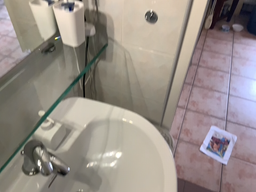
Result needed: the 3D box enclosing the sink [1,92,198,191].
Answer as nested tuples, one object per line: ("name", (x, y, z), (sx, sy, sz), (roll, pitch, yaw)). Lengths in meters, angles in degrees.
("sink", (-0.090, 0.320, 0.670), (0.480, 0.180, 0.630), (17, 47, 13))
